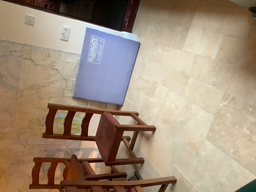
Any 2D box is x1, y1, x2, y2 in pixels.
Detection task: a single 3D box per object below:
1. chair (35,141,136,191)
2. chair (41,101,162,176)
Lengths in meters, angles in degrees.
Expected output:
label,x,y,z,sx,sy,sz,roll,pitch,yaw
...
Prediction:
label,x,y,z,sx,sy,sz,roll,pitch,yaw
chair,-0.530,0.900,2.640,0.500,1.070,0.470,43,121,55
chair,-0.280,0.430,2.270,0.490,1.100,0.510,43,121,55
